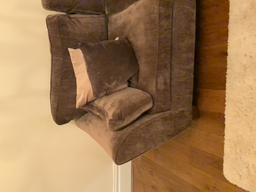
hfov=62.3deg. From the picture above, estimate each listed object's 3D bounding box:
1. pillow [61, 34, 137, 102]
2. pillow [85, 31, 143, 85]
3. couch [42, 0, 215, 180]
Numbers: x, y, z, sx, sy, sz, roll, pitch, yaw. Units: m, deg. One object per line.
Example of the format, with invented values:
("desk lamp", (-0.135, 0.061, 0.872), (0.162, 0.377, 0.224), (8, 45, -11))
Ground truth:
("pillow", (-0.210, -0.190, 1.580), (0.200, 0.510, 0.440), (-14, -78, -73))
("pillow", (-0.110, -0.260, 1.440), (0.140, 0.350, 0.350), (107, 158, -58))
("couch", (-0.080, -0.670, 1.620), (1.010, 0.940, 2.050), (12, 102, 60))
